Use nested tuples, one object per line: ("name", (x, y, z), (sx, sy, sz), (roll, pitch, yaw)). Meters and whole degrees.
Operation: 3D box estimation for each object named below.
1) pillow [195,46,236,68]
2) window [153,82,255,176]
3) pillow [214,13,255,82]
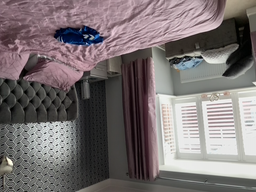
("pillow", (1.310, -0.560, 3.150), (0.450, 0.130, 0.560), (-7, 173, 35))
("window", (1.400, 0.550, 3.580), (1.920, 1.350, 0.310), (-7, 173, 33))
("pillow", (1.520, -0.650, 3.020), (0.400, 0.790, 0.490), (-6, 173, 32))
